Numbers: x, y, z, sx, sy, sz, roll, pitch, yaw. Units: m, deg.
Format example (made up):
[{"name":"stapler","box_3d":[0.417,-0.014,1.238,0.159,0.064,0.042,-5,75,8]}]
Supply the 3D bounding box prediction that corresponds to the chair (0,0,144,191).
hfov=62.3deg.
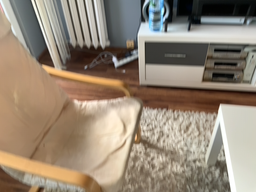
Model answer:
[{"name":"chair","box_3d":[-0.360,0.080,0.990,0.760,0.980,0.610,7,42,13]}]
